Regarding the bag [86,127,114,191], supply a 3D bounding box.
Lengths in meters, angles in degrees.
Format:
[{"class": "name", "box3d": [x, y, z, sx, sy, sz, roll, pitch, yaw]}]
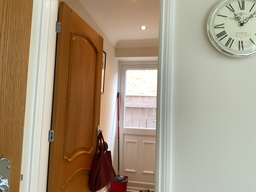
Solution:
[{"class": "bag", "box3d": [-0.270, 0.650, 2.150, 0.160, 0.630, 0.370, 2, -5, 8]}]

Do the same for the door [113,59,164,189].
[{"class": "door", "box3d": [0.180, 0.420, 3.420, 0.740, 2.000, 0.170, 2, -5, 5]}]
